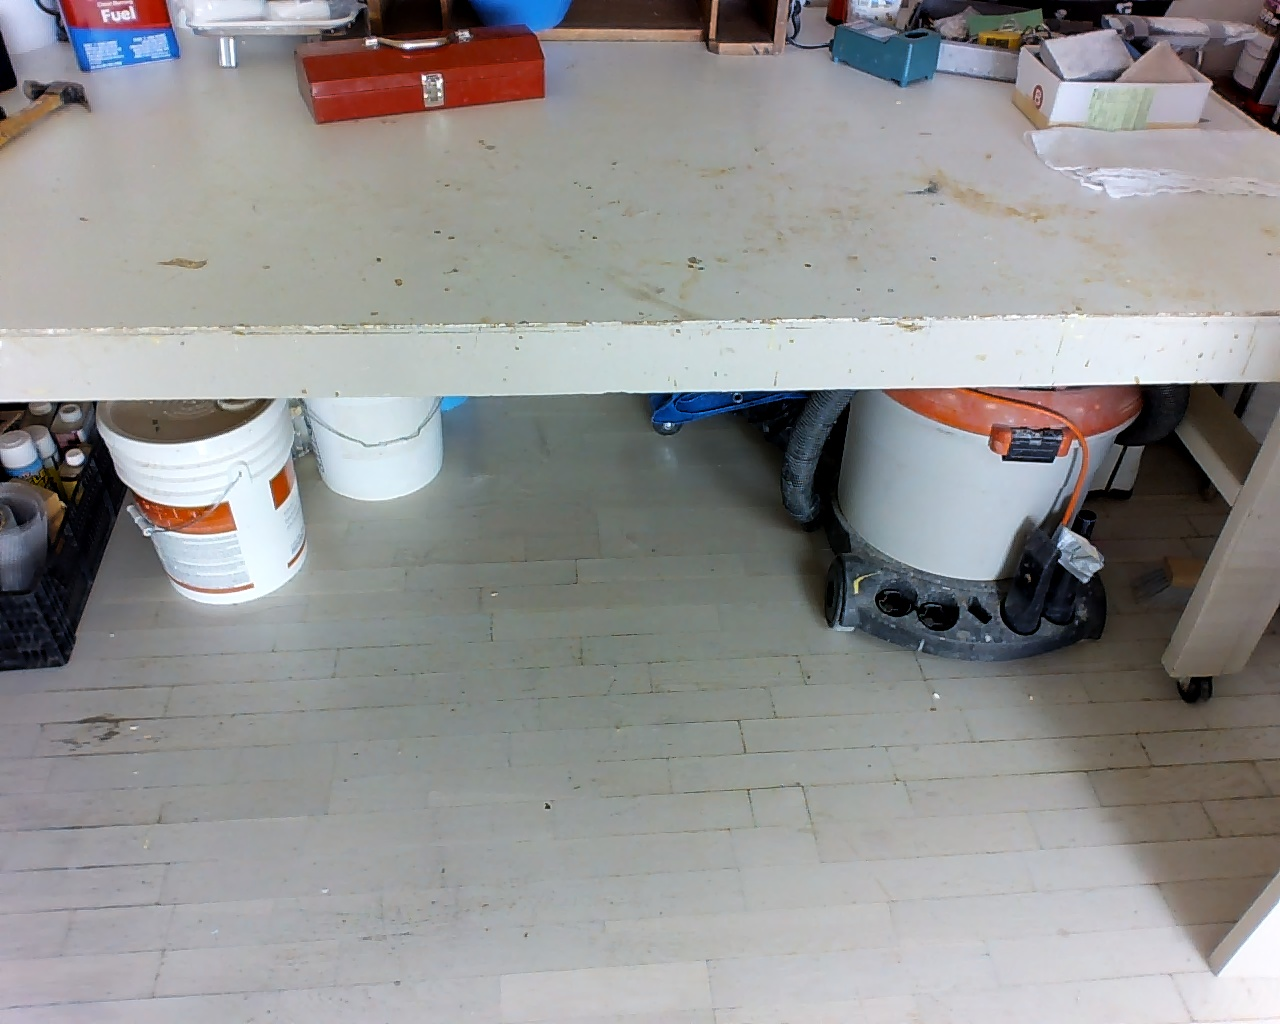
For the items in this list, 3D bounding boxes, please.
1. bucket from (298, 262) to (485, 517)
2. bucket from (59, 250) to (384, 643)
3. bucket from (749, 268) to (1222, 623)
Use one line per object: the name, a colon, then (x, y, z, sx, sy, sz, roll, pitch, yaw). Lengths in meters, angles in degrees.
bucket: (-0.480, -0.250, 2.170, 0.300, 0.390, 0.330, -2, 41, -5)
bucket: (-0.800, -0.150, 2.050, 0.400, 0.410, 0.590, -17, 45, -22)
bucket: (0.550, -0.120, 1.850, 0.650, 0.410, 0.330, 9, 41, 7)
